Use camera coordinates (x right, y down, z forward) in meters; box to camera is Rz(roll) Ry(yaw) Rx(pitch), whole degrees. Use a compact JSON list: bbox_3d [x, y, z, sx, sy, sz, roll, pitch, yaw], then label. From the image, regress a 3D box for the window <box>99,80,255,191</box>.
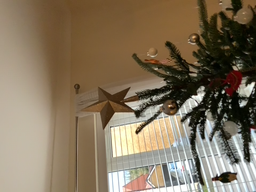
[{"bbox_3d":[0.420,0.340,1.560,0.040,1.270,0.810,71,-171,-57],"label":"window"}]
